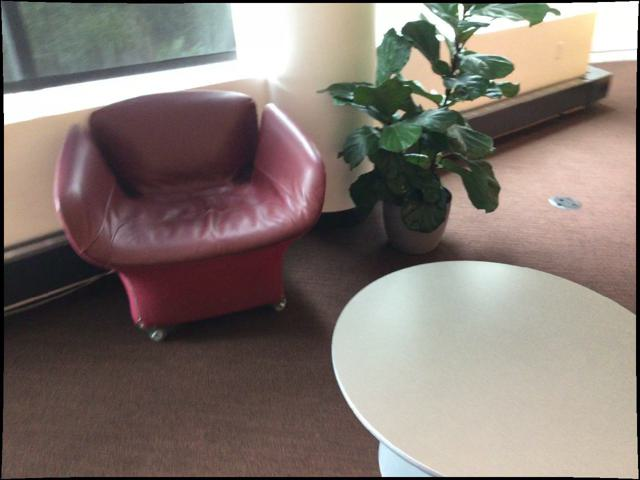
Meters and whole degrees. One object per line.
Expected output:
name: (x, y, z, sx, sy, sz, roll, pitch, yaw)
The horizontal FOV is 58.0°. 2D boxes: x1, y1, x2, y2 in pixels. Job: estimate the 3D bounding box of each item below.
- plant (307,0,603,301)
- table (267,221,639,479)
plant: (0.499, -0.531, 2.470, 0.799, 1.142, 0.790, -19, 35, -28)
table: (0.479, 0.441, 1.610, 0.899, 0.441, 0.910, -19, 35, -29)
